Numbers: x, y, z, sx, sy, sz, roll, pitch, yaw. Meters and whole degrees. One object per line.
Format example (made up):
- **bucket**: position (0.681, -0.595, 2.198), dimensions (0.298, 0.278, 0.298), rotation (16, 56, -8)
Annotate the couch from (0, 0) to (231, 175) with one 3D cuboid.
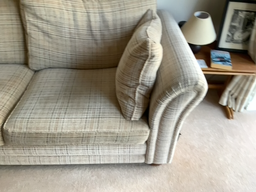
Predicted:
- **couch**: position (-0.670, -0.190, 1.410), dimensions (2.030, 0.900, 1.040), rotation (1, 41, -3)
